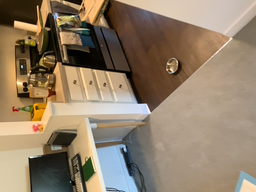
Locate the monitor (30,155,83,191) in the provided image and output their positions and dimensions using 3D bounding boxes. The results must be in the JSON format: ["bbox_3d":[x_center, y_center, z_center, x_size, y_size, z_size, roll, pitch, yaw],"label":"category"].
[{"bbox_3d":[-0.590,0.780,1.800,0.040,0.400,0.510,-49,50,43],"label":"monitor"}]
